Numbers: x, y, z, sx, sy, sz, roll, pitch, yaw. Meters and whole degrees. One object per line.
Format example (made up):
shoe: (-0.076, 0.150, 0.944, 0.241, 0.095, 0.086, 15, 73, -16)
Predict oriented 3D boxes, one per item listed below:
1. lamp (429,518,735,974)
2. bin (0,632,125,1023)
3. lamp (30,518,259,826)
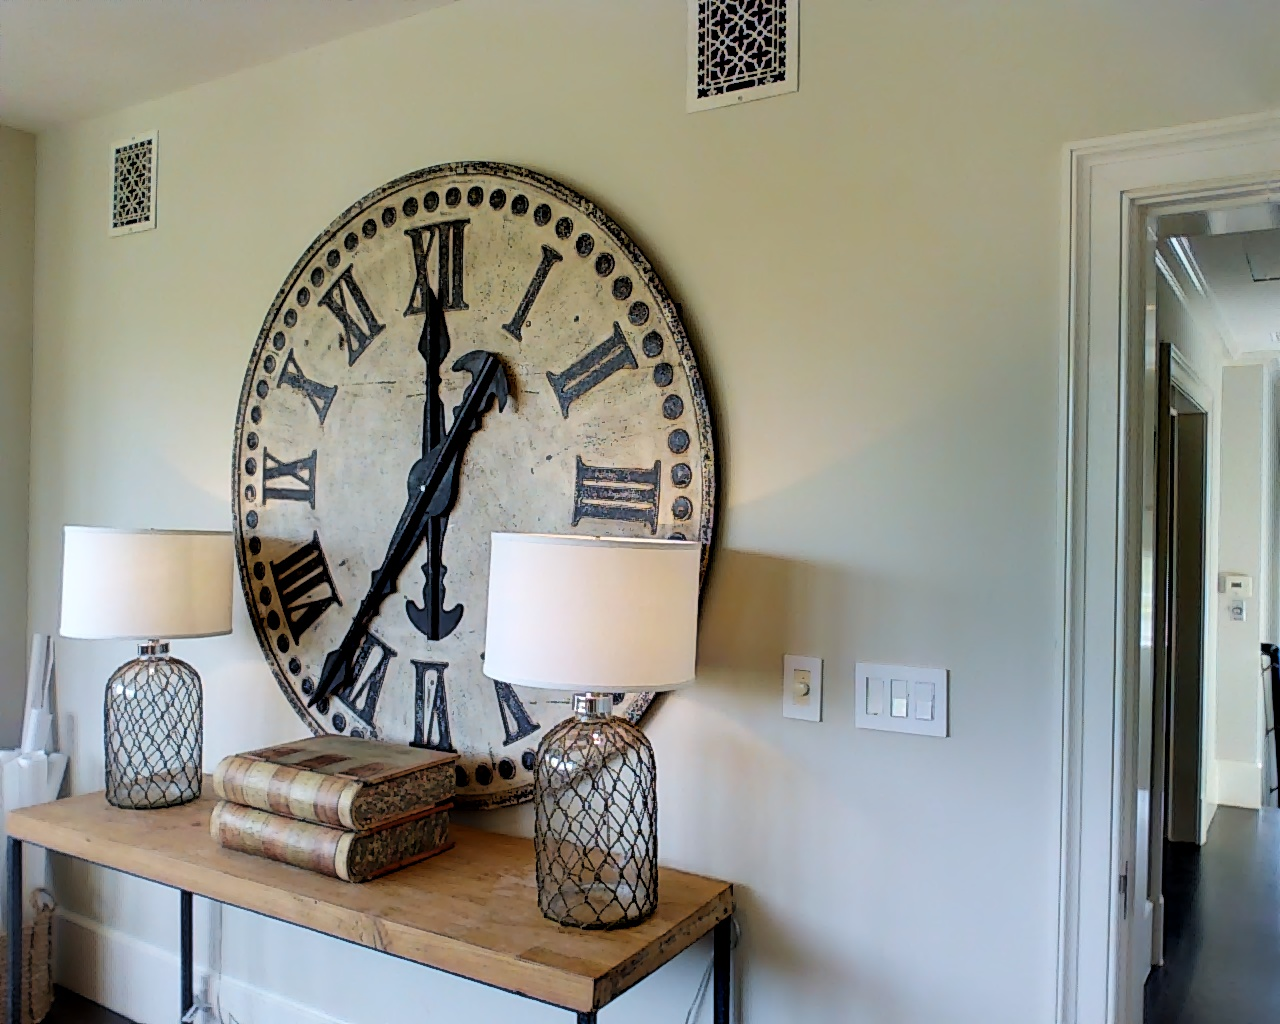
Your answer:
lamp: (-0.100, 0.370, 1.960, 0.420, 0.710, 0.360, 1, 1, 33)
bin: (-1.930, 0.950, 3.140, 0.480, 1.110, 0.610, 1, 1, 33)
lamp: (-1.220, 0.360, 2.660, 0.400, 0.680, 0.350, 1, 1, 33)
